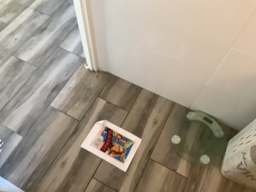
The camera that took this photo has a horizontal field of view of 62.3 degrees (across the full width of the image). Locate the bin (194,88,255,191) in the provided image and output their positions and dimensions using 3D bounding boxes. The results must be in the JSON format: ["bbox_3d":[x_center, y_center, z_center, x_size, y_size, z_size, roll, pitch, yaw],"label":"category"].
[{"bbox_3d":[0.730,0.260,0.990,0.490,0.720,0.350,31,57,13],"label":"bin"}]
